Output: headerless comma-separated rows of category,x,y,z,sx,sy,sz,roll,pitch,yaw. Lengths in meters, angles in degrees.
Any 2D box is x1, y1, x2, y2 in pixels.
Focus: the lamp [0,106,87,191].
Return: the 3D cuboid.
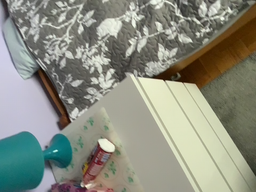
lamp,-0.340,0.190,0.700,0.190,0.280,0.230,-38,72,27
